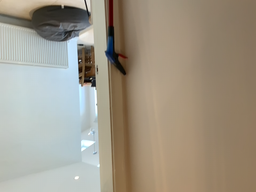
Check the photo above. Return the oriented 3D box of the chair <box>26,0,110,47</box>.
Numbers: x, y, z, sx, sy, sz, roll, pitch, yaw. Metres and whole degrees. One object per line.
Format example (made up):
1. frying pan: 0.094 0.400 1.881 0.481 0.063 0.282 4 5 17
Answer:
1. chair: -0.970 -1.150 3.510 0.790 0.350 1.080 -4 178 42
